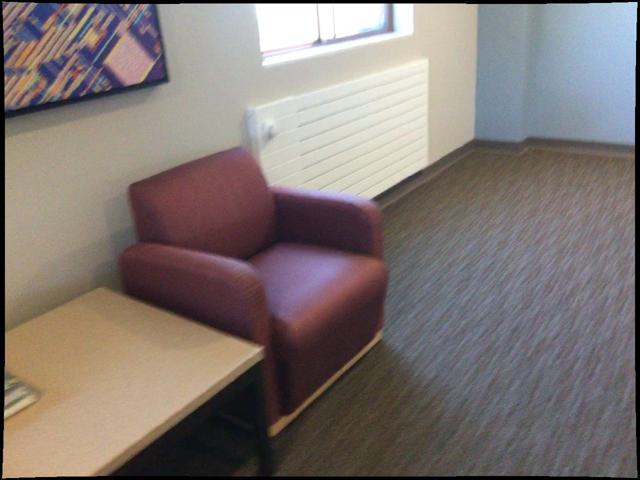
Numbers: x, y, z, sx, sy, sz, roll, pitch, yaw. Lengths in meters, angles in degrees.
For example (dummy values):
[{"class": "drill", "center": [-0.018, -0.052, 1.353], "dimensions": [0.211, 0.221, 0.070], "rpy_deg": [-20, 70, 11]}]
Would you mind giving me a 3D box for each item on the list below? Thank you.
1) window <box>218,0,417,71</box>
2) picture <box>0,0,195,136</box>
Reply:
[{"class": "window", "center": [0.070, -1.193, 3.250], "dimensions": [0.309, 0.251, 1.459], "rpy_deg": [11, 28, 34]}, {"class": "picture", "center": [-0.948, -0.511, 1.750], "dimensions": [0.090, 0.341, 1.369], "rpy_deg": [11, 28, 34]}]
